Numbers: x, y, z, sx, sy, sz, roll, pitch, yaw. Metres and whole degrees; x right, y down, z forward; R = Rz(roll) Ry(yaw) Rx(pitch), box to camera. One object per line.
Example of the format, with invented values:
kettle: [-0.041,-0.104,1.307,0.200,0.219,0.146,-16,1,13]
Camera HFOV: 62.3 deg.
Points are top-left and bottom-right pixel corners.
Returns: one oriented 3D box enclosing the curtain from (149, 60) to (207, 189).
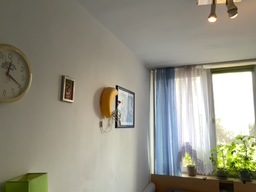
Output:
curtain: [0.740,0.400,3.270,0.810,1.850,0.160,-2,-8,19]
